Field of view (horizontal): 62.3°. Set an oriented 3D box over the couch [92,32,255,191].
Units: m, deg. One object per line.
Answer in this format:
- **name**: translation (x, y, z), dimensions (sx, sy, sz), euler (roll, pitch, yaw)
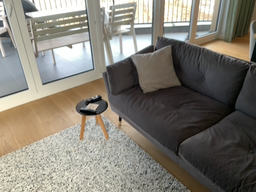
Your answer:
- **couch**: translation (0.660, 0.160, 1.700), dimensions (0.950, 0.790, 2.050), euler (-22, 36, -30)
